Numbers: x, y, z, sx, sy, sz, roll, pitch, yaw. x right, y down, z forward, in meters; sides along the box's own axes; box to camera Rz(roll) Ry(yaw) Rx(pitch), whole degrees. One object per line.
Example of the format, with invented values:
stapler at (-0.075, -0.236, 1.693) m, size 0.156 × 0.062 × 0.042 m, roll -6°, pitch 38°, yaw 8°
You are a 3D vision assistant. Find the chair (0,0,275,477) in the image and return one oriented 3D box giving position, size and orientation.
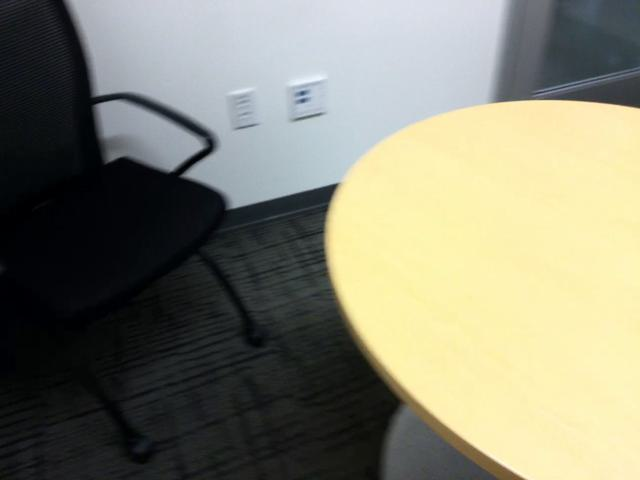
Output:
chair at (-0.550, -0.070, 1.310) m, size 0.620 × 0.860 × 0.540 m, roll 28°, pitch 49°, yaw 32°
